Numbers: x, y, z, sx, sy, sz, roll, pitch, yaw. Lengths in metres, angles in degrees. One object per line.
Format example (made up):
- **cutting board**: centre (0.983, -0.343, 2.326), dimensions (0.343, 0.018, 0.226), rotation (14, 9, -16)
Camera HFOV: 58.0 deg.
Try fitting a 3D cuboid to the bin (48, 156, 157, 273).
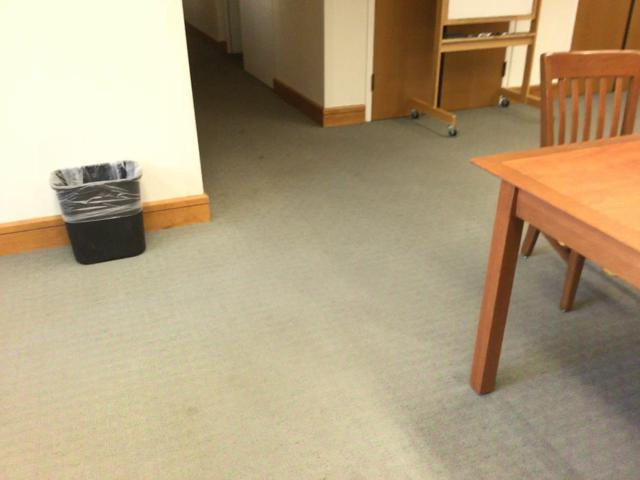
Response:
- **bin**: centre (-0.940, -0.120, 2.520), dimensions (0.360, 0.380, 0.280), rotation (-11, 27, -18)
